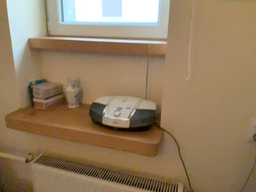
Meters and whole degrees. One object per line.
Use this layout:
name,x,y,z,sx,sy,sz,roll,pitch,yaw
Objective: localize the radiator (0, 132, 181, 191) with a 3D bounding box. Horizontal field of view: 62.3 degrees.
radiator,-0.240,0.700,1.180,0.950,0.830,0.200,7,19,18
